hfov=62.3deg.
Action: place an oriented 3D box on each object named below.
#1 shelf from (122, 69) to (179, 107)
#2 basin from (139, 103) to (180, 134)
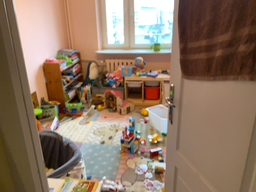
[{"bbox_3d":[0.400,-0.170,3.870,0.950,0.530,0.510,2,21,8],"label":"shelf"},{"bbox_3d":[0.440,0.310,3.060,0.330,0.190,0.500,-15,25,-32],"label":"basin"}]
